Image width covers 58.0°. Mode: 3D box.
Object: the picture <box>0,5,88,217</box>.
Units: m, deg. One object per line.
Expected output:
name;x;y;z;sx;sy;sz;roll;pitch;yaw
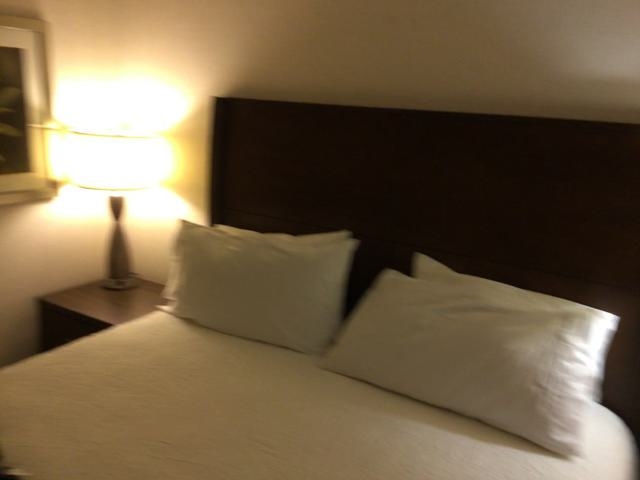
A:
picture;-1.390;-0.510;2.320;0.110;0.840;0.880;6;14;32

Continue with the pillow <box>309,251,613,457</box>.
pillow;0.430;0.300;1.840;0.830;0.370;0.420;6;14;32

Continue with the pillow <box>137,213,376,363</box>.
pillow;-0.250;0.140;2.260;0.830;0.380;0.430;6;14;32

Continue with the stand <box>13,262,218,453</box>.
stand;-0.970;0.510;2.800;0.690;0.620;0.590;6;14;32
